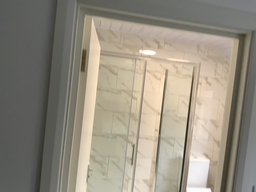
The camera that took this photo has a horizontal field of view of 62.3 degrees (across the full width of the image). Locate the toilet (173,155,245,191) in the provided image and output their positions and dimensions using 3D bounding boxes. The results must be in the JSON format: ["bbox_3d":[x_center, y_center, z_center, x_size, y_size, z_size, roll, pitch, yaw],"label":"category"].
[{"bbox_3d":[0.970,1.330,2.730,0.560,0.910,0.670,6,2,-8],"label":"toilet"}]

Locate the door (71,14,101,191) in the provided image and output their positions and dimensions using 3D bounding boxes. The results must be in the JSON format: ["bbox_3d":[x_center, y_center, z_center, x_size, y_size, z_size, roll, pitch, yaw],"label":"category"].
[{"bbox_3d":[-0.310,0.610,1.430,0.030,2.030,0.810,6,2,-5],"label":"door"}]
